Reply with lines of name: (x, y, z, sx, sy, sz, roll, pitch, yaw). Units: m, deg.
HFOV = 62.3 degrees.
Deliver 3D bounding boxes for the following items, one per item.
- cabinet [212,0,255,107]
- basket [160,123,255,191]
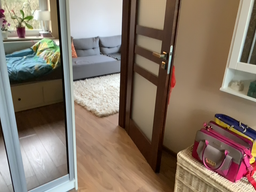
cabinet: (0.930, -0.410, 1.240, 0.160, 1.010, 0.630, -15, 28, -38)
basket: (0.790, 0.680, 1.550, 0.550, 0.500, 0.910, -14, 28, -37)
